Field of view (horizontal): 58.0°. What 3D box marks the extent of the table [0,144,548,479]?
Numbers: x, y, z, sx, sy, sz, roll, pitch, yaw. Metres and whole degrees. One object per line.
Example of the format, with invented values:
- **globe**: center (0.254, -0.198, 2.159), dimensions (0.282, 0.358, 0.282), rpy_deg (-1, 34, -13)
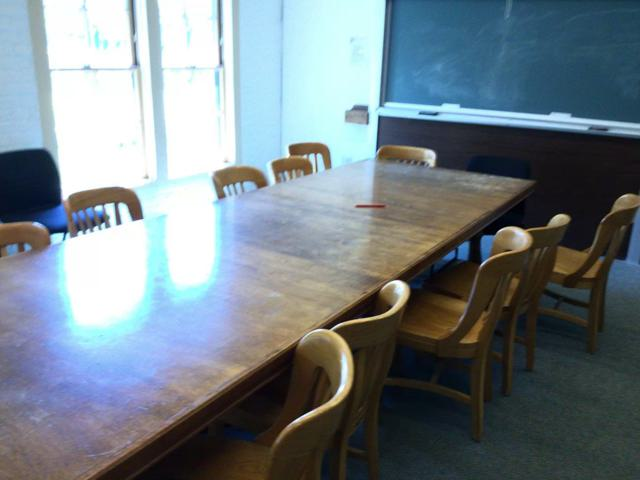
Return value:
- **table**: center (-0.100, 0.260, 2.640), dimensions (1.440, 0.880, 3.540), rpy_deg (13, 20, 28)
